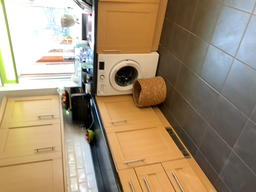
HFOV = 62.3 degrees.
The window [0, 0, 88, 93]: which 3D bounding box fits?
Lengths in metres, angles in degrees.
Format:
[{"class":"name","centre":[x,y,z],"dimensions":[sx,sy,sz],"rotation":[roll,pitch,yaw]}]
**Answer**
[{"class":"window","centre":[-1.140,-0.930,2.940],"dimensions":[0.180,1.120,1.920],"rotation":[-118,30,-51]}]
